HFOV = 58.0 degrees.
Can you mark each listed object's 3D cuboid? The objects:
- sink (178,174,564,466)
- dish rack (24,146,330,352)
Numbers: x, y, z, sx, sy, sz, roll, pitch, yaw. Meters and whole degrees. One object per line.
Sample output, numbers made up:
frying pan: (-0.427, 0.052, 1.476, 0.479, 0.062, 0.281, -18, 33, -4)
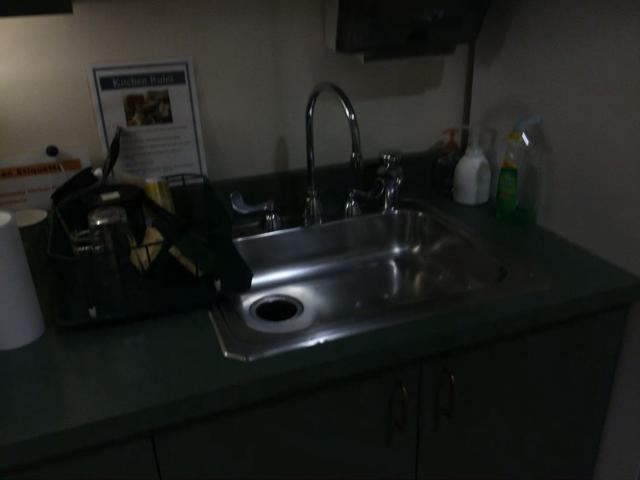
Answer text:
sink: (0.050, 0.090, 1.190, 0.560, 0.240, 0.580, -9, 26, -21)
dish rack: (-0.280, -0.020, 1.120, 0.480, 0.190, 0.390, -9, 26, -21)
